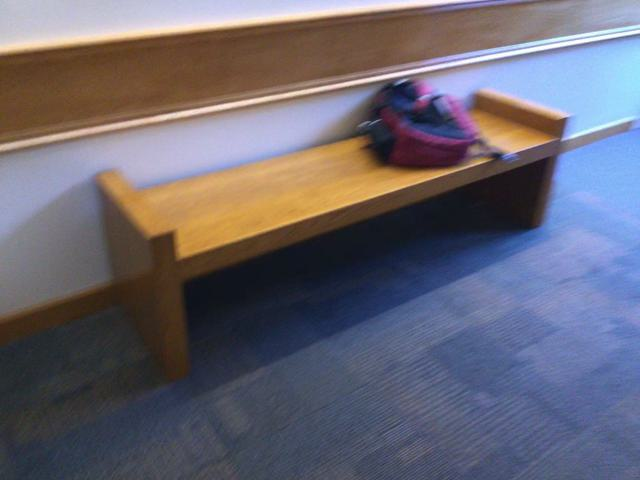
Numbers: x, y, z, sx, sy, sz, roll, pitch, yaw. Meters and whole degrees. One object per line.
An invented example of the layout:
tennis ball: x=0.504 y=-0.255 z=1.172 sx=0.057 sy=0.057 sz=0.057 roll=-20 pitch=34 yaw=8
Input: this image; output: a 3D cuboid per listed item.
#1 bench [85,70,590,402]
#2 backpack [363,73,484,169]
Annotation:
bench: x=0.150 y=-0.140 z=2.220 sx=1.790 sy=0.580 sz=0.560 roll=-20 pitch=39 yaw=-27
backpack: x=0.380 y=-0.480 z=2.270 sx=0.400 sy=0.250 sz=0.430 roll=1 pitch=29 yaw=2
